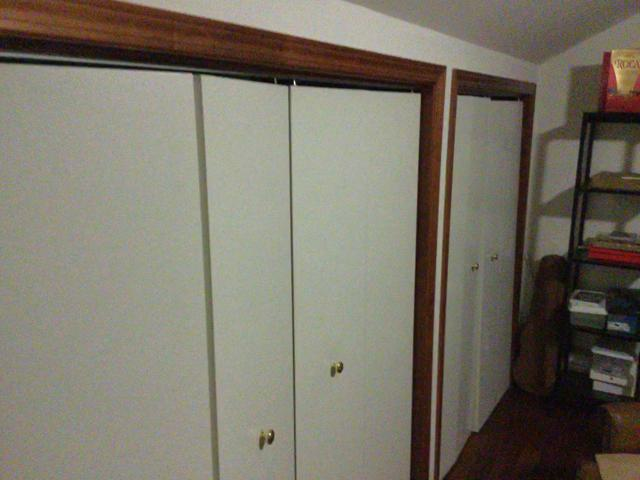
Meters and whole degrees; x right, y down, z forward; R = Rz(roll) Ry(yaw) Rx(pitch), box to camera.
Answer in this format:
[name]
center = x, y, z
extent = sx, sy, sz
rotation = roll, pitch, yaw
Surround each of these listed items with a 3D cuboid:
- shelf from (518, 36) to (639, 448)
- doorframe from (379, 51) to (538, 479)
[shelf]
center = 1.330, 0.000, 2.760
extent = 0.540, 1.790, 0.450
rotation = 6, 14, 31
[doorframe]
center = 0.670, 0.130, 2.620
extent = 0.230, 1.760, 1.330
rotation = 6, 14, 31
